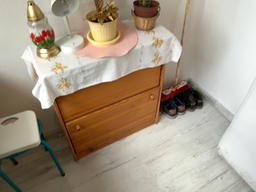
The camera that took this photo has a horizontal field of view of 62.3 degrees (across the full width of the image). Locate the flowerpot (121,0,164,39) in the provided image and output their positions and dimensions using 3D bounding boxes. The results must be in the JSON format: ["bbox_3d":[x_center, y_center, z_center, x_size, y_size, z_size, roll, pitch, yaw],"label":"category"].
[{"bbox_3d":[0.070,-0.490,1.150,0.140,0.260,0.210,-21,47,-19],"label":"flowerpot"}]

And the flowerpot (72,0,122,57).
[{"bbox_3d":[-0.160,-0.530,0.930,0.160,0.670,0.210,-21,47,-19],"label":"flowerpot"}]
